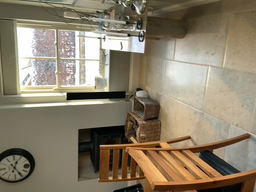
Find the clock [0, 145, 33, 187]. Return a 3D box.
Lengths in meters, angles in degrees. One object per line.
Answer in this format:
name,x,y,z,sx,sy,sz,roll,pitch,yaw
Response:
clock,-1.800,1.090,3.310,0.050,0.560,0.630,-146,57,-64

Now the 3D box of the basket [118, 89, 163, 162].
basket,0.170,0.440,3.470,0.690,0.400,0.960,-146,57,-64

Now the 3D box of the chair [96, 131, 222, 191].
chair,0.290,0.750,2.200,0.590,1.100,0.460,-144,55,-63
